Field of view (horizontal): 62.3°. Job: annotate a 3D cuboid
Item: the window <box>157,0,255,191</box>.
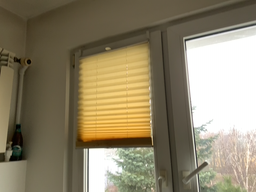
[{"bbox_3d":[0.450,0.280,0.810,0.560,1.510,0.200,-7,-13,24],"label":"window"}]
